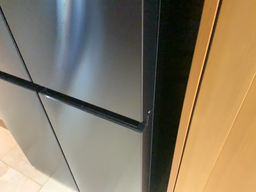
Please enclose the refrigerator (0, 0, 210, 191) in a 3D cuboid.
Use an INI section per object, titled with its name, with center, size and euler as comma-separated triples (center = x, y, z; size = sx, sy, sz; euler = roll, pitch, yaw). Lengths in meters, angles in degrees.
[refrigerator]
center = -0.160, -0.290, 0.900
size = 0.820, 1.810, 0.790
euler = 18, 47, 20
